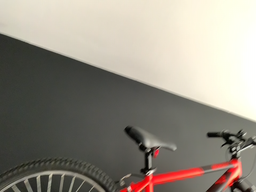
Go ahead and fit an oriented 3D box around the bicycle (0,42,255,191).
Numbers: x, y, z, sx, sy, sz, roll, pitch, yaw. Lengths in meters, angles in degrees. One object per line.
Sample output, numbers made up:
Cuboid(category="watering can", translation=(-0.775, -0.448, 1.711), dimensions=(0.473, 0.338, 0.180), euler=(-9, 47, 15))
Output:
Cuboid(category="bicycle", translation=(0.240, 0.490, 1.020), dimensions=(1.630, 0.890, 0.350), euler=(18, -32, -20))
